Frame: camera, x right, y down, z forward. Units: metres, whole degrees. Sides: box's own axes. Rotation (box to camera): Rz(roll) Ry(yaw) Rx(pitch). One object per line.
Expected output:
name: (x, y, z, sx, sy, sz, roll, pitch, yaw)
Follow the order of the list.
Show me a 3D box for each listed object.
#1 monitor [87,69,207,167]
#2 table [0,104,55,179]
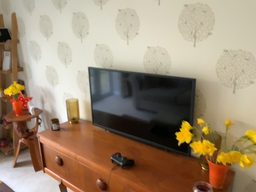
monitor: (0.070, 0.120, 1.590, 0.950, 0.550, 0.050, 12, 21, 33)
table: (-1.200, 0.500, 2.480, 0.420, 0.660, 0.420, 12, 22, 34)
